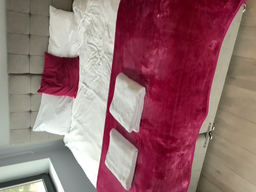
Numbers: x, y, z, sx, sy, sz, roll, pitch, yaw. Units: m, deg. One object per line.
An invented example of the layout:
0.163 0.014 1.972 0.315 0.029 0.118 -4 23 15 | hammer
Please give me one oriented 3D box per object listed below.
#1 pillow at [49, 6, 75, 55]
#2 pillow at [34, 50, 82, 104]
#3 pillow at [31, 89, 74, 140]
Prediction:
-0.770 -0.760 2.480 0.150 0.260 0.500 -133 49 -66 | pillow
-0.840 -0.230 2.550 0.130 0.510 0.570 -75 -7 -75 | pillow
-0.960 0.240 2.700 0.150 0.480 0.600 -120 36 -71 | pillow
